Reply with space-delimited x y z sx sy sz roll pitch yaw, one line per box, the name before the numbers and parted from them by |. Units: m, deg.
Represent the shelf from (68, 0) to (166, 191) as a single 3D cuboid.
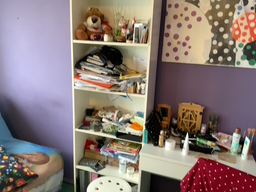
shelf | -0.120 0.120 1.720 0.640 1.820 0.280 8 15 18
